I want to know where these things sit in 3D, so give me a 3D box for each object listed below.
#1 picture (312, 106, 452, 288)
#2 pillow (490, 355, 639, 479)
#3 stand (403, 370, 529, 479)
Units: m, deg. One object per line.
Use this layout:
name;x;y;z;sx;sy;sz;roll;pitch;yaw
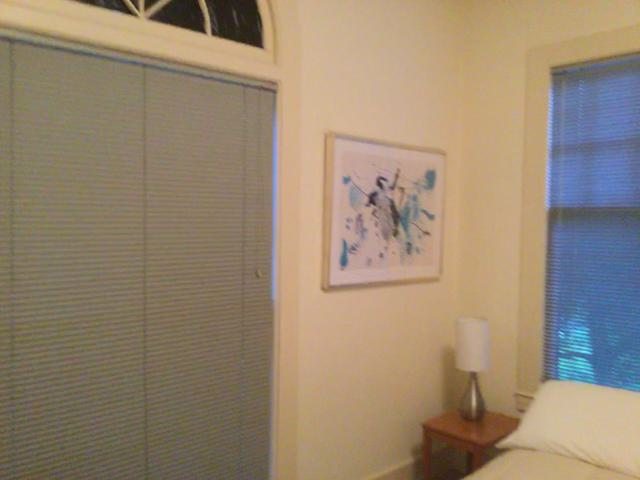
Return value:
picture;0.340;-0.190;2.830;0.970;0.780;0.070;-1;2;-43
pillow;1.190;0.720;2.390;0.630;0.280;0.710;-1;2;-43
stand;0.750;1.020;2.950;0.530;0.560;0.400;-1;2;-43
